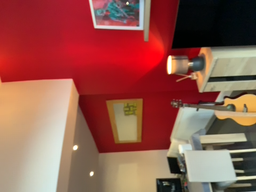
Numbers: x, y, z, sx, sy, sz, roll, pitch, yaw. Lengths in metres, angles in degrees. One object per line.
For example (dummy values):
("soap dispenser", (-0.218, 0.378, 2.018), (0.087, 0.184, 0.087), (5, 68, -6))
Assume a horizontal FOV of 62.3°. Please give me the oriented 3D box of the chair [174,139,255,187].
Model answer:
("chair", (1.170, 0.920, 2.870), (0.550, 0.940, 0.450), (87, 180, -58))
